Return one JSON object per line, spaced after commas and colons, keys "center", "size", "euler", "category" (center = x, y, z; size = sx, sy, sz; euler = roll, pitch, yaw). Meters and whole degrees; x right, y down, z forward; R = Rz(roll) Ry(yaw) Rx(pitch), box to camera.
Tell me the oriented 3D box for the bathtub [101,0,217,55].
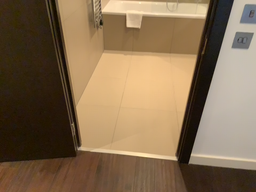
{"center": [0.460, -1.160, 3.520], "size": [1.650, 0.610, 0.740], "euler": [4, 36, 4], "category": "bathtub"}
